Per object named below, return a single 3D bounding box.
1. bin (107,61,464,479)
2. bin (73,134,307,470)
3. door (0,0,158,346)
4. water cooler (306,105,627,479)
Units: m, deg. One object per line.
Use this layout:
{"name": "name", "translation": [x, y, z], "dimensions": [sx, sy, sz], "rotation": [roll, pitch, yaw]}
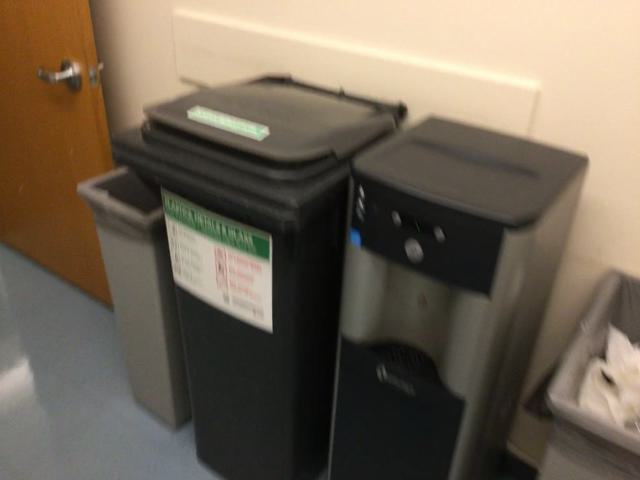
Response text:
{"name": "bin", "translation": [-0.080, 0.170, 1.470], "dimensions": [0.470, 1.060, 0.600], "rotation": [23, 33, 30]}
{"name": "bin", "translation": [-0.350, 0.160, 1.710], "dimensions": [0.350, 0.780, 0.490], "rotation": [23, 33, 30]}
{"name": "door", "translation": [-1.030, -0.520, 2.010], "dimensions": [1.020, 1.570, 0.210], "rotation": [23, 33, 30]}
{"name": "water cooler", "translation": [0.270, 0.290, 1.310], "dimensions": [0.390, 1.040, 0.420], "rotation": [23, 33, 30]}
